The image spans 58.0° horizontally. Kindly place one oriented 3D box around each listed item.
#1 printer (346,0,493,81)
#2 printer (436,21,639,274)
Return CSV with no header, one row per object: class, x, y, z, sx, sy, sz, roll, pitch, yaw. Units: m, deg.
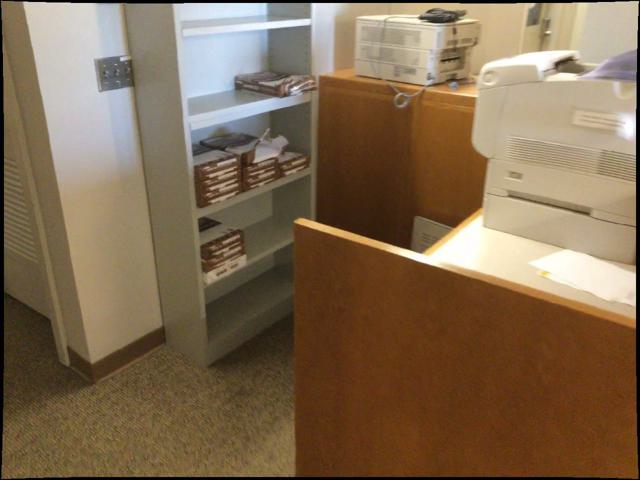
printer,0.479,-1.002,2.820,0.539,0.311,0.450,18,32,33
printer,0.818,-0.351,1.880,0.649,0.601,0.530,18,32,33
